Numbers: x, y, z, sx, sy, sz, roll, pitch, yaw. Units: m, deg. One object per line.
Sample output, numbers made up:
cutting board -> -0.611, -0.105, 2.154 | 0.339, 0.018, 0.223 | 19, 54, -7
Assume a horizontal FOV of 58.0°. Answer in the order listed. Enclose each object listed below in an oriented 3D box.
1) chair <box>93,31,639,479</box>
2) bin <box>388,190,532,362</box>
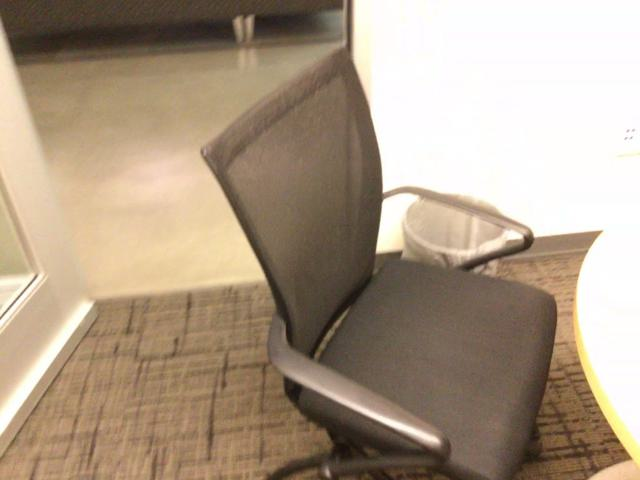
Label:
chair -> 0.140, 0.190, 1.120 | 0.610, 0.920, 0.630 | 17, 41, 25
bin -> 0.390, 0.100, 1.730 | 0.300, 0.340, 0.360 | -4, 37, -2
